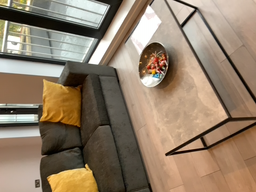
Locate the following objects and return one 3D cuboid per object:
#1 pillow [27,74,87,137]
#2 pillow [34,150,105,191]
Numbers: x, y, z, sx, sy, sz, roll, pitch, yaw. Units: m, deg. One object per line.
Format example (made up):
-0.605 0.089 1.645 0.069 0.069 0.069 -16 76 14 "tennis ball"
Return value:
-0.840 0.110 2.610 0.190 0.500 0.580 20 134 42 "pillow"
-0.600 0.970 2.220 0.590 0.490 0.290 35 142 42 "pillow"
